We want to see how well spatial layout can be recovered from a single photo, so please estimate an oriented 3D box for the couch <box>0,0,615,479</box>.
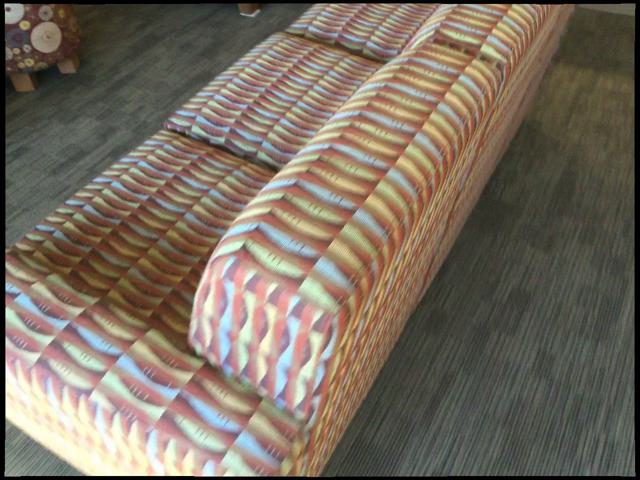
[{"bbox_3d":[0.050,-0.271,1.450,0.879,0.821,1.920,22,51,23],"label":"couch"}]
